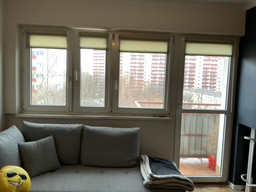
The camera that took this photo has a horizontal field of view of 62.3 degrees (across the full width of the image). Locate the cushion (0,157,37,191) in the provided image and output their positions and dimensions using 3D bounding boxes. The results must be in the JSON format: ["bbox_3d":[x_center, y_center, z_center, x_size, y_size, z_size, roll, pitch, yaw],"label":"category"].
[{"bbox_3d":[-1.050,0.730,1.930,0.300,0.220,0.350,3,5,-1],"label":"cushion"}]
